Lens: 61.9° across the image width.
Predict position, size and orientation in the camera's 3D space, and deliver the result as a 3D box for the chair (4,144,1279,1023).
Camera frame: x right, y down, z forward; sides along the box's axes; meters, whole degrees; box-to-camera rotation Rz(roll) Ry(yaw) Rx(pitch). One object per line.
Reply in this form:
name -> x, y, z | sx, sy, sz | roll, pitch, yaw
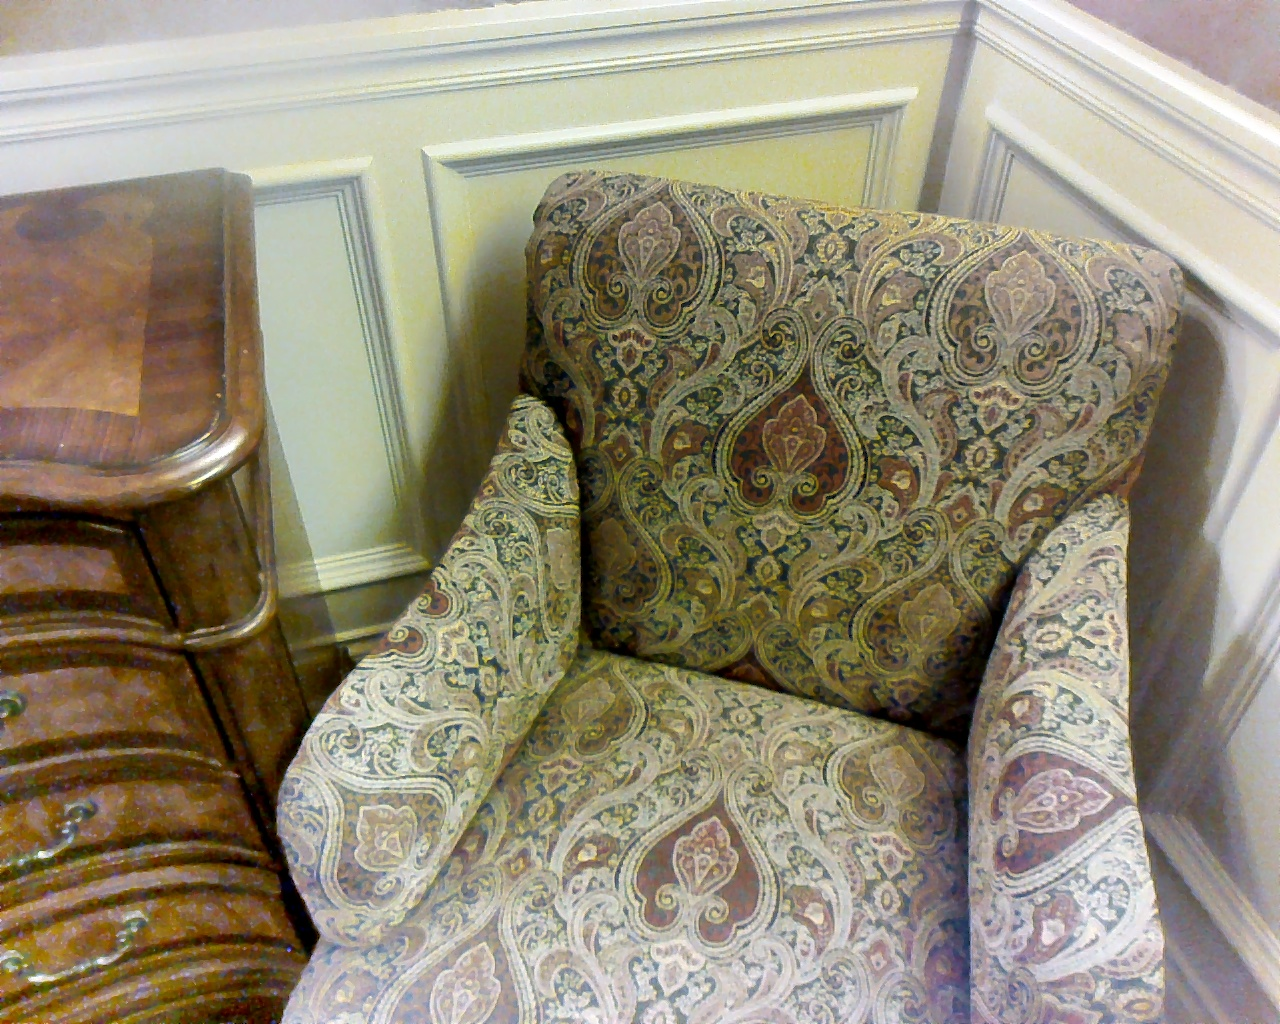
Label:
chair -> 0.120, 0.260, 1.170 | 0.820, 0.930, 0.820 | 11, 43, 12
